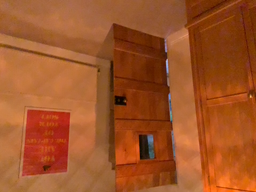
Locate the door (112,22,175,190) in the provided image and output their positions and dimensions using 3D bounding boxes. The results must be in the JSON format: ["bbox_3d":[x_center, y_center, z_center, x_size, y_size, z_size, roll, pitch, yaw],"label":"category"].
[{"bbox_3d":[0.190,0.070,2.590,0.800,1.890,0.060,6,166,-31],"label":"door"}]
